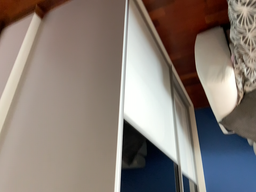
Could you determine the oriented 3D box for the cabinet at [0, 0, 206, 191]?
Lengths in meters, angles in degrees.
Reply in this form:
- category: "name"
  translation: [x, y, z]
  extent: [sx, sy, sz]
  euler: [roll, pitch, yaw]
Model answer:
- category: "cabinet"
  translation: [-0.100, 0.870, 1.460]
  extent: [1.030, 2.650, 1.830]
  euler: [-13, 146, 23]
